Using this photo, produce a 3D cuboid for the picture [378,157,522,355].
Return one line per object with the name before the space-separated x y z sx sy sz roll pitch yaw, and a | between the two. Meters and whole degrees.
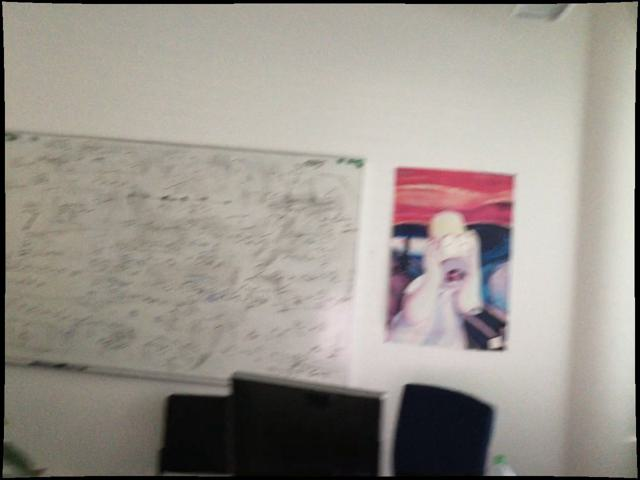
picture | 0.619 0.070 2.800 0.609 0.901 0.100 4 1 6
